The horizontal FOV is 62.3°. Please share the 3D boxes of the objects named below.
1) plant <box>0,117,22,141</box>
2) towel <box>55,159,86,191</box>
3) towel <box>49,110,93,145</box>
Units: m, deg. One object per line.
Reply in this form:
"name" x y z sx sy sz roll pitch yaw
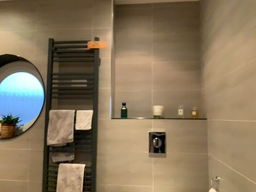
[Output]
"plant" -1.280 0.340 2.250 0.220 0.240 0.160 0 -5 7
"towel" -0.520 0.820 1.910 0.260 0.470 0.070 0 -5 5
"towel" -0.530 0.290 1.980 0.390 0.310 0.070 0 -5 4
